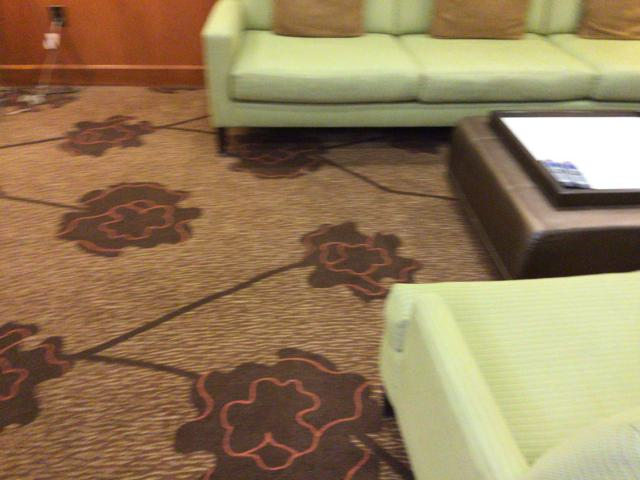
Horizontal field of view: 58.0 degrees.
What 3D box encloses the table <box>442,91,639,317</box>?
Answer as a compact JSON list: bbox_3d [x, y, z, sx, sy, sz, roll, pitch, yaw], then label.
[{"bbox_3d":[1.030,-0.190,2.220,0.930,0.490,0.920,-1,30,2],"label":"table"}]
